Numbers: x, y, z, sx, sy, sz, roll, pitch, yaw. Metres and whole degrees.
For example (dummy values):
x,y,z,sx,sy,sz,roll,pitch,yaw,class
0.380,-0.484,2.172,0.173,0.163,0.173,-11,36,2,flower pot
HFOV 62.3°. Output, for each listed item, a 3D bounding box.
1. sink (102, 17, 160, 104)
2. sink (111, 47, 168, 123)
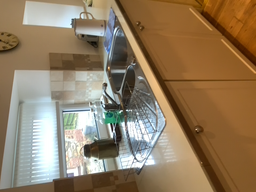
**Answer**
x,y,z,sx,sy,sz,roll,pitch,yaw,class
-0.010,-0.250,1.590,0.510,0.230,0.360,109,151,-43,sink
0.050,-0.050,1.410,0.510,0.200,0.180,109,151,-43,sink
